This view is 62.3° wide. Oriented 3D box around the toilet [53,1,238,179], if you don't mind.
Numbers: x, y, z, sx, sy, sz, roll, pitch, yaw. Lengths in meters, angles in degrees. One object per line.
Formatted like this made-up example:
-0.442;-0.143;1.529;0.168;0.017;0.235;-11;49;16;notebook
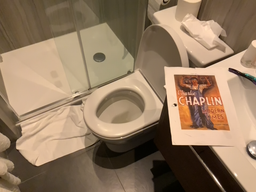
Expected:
0.060;0.020;1.210;0.650;0.810;0.410;-23;59;-17;toilet
